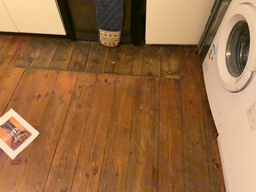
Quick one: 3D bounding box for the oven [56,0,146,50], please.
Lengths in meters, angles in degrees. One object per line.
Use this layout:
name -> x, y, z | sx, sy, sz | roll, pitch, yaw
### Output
oven -> -0.160, -0.910, 1.570 | 0.600, 0.880, 0.630 | 5, 58, 3
